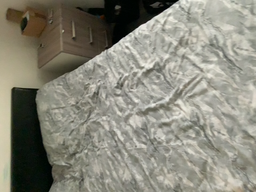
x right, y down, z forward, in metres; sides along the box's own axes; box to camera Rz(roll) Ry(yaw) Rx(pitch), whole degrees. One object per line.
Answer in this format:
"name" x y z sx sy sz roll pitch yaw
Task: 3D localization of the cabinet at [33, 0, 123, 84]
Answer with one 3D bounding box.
"cabinet" -0.540 -0.500 2.220 0.660 0.650 0.510 -20 72 44
